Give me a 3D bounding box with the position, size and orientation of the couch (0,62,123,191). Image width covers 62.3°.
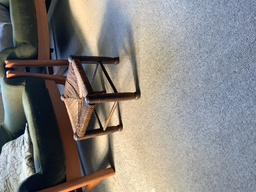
[{"bbox_3d":[-0.700,0.390,1.340,0.850,0.830,0.840,62,141,30],"label":"couch"}]

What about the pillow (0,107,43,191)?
[{"bbox_3d":[-0.730,0.390,1.350,0.330,0.240,0.520,-54,51,49],"label":"pillow"}]

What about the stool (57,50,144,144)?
[{"bbox_3d":[-0.150,0.000,0.990,0.270,0.250,0.310,60,139,33],"label":"stool"}]
